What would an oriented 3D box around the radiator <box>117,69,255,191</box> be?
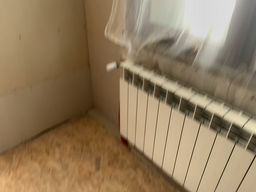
[{"bbox_3d":[0.380,0.330,1.110,0.170,0.520,1.190,-25,42,-33],"label":"radiator"}]
